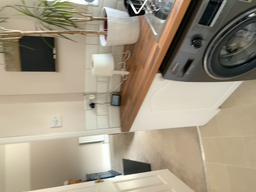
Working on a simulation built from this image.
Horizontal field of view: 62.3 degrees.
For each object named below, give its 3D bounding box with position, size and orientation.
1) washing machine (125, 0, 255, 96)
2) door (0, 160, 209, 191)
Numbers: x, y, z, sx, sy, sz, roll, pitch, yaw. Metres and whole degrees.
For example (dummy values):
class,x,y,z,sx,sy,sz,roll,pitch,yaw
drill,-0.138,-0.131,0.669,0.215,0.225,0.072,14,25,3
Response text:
class,x,y,z,sx,sy,sz,roll,pitch,yaw
washing machine,0.580,-0.500,1.370,0.660,0.930,0.720,112,150,-48
door,-0.280,1.070,2.280,0.900,2.060,0.200,-172,81,-70
